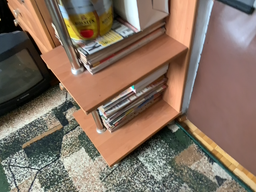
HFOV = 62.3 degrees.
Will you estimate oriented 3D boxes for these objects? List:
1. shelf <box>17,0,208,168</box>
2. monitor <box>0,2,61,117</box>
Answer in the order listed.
[{"bbox_3d":[-0.060,-0.360,0.460,0.410,1.500,0.330,-33,56,-19],"label":"shelf"},{"bbox_3d":[-0.660,-0.190,1.120,0.380,0.350,0.360,-33,56,-19],"label":"monitor"}]
